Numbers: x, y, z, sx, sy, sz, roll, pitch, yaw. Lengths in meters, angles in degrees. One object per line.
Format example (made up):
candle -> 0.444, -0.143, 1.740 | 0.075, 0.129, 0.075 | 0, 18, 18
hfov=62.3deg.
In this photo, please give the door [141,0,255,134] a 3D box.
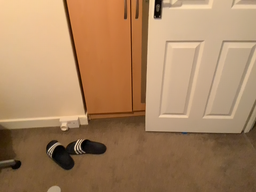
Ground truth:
door -> 0.500, -0.480, 1.090 | 0.810, 1.900, 0.050 | -1, 38, 0
